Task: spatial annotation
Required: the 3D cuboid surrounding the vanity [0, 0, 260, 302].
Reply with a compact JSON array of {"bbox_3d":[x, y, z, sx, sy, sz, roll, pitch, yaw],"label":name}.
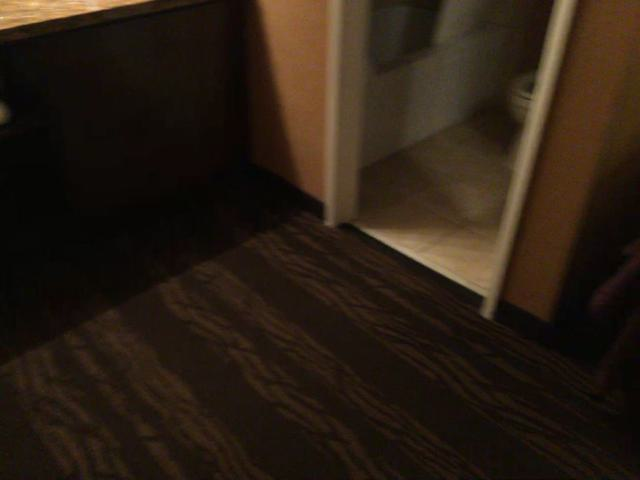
[{"bbox_3d":[-1.240,-0.390,1.790,2.160,1.110,0.620,-31,48,-34],"label":"vanity"}]
